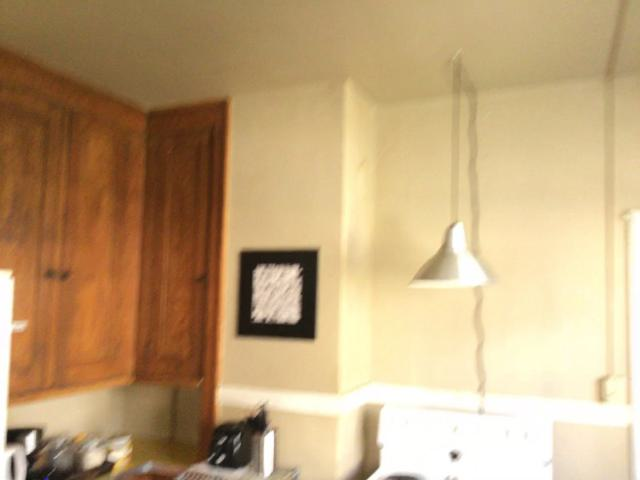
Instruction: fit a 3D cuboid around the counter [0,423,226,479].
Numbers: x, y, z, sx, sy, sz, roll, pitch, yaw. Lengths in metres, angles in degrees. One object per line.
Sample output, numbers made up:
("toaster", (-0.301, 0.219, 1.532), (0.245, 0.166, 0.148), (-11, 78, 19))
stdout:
("counter", (-1.100, 1.100, 2.710), (0.660, 0.170, 1.470), (-3, -7, 20))
